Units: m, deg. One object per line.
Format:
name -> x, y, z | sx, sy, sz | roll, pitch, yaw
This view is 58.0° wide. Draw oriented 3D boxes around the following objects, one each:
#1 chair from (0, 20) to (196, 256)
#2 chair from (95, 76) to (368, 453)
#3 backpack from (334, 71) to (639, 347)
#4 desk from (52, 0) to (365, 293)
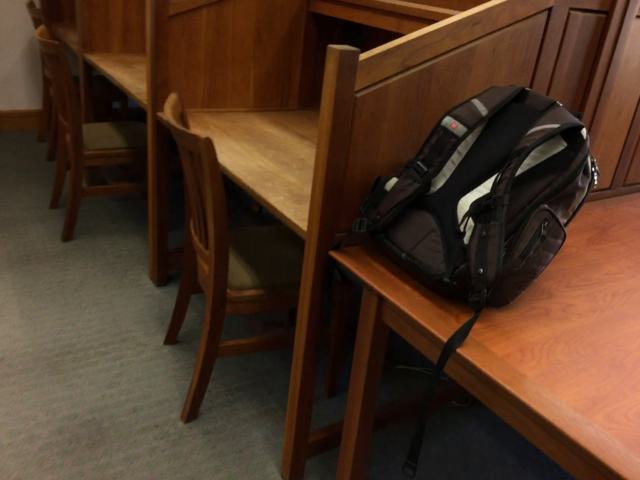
chair -> -1.080, -0.540, 2.860 | 0.640, 0.940, 0.630 | -15, 30, -26
chair -> -0.270, 0.030, 1.870 | 0.600, 0.940, 0.590 | -15, 30, -26
backpack -> 0.350, -0.110, 1.230 | 0.500, 0.370, 0.410 | -16, 30, -26
desk -> -0.590, -0.740, 2.960 | 1.100, 1.350, 1.250 | -16, 30, -27
